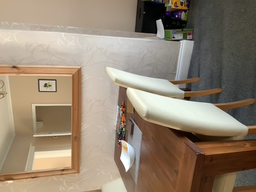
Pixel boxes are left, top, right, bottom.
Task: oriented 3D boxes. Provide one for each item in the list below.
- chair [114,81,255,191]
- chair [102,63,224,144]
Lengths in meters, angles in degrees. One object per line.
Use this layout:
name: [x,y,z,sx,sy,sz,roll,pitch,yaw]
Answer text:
chair: [0.470,0.280,1.370,0.450,0.990,0.640,-132,45,-64]
chair: [0.290,0.050,1.960,0.390,0.970,0.590,-132,45,-64]
